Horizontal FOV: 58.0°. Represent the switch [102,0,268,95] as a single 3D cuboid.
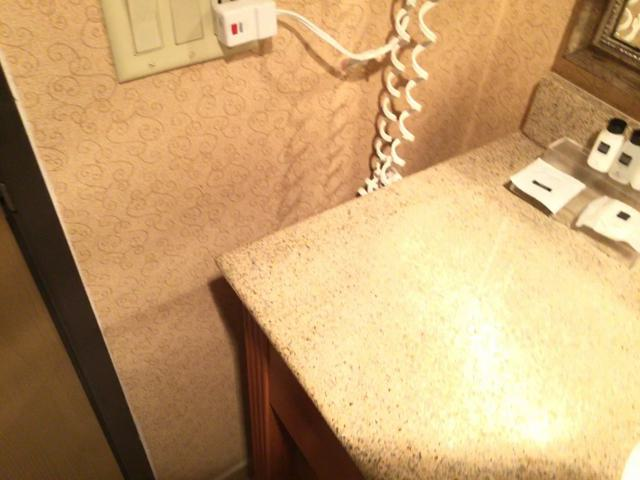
[{"bbox_3d":[-0.130,-0.230,0.580,0.160,0.130,0.030,-24,52,-25],"label":"switch"}]
